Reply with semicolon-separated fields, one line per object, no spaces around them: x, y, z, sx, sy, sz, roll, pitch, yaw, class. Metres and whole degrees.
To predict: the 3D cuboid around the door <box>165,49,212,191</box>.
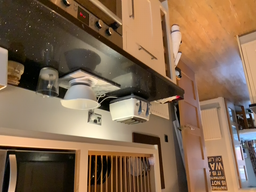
0.860;0.430;3.000;0.170;2.060;0.780;-14;159;31;door
